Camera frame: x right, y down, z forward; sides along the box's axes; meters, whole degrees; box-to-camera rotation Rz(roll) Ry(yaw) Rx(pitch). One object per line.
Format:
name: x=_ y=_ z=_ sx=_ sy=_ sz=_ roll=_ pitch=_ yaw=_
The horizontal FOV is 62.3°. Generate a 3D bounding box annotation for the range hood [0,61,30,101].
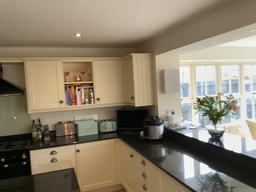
range hood: x=-1.960 y=-0.200 z=3.080 sx=0.910 sy=0.550 sz=0.410 roll=-5 pitch=4 yaw=-22
